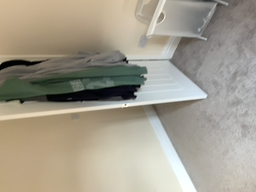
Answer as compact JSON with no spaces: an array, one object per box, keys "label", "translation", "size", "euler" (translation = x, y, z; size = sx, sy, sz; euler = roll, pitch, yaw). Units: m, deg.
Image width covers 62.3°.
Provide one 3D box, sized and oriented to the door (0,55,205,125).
[{"label":"door","translation":[-0.240,-0.160,2.020],"size":[0.830,1.830,0.090],"euler":[-123,36,-45]}]
